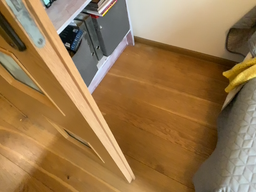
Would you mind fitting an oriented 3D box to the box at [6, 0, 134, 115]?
[{"bbox_3d":[-0.290,-0.320,1.330,0.300,0.370,0.730,22,63,22],"label":"box"}]

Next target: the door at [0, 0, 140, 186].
[{"bbox_3d":[-0.470,-0.250,0.530,0.860,2.100,0.090,23,63,23],"label":"door"}]
